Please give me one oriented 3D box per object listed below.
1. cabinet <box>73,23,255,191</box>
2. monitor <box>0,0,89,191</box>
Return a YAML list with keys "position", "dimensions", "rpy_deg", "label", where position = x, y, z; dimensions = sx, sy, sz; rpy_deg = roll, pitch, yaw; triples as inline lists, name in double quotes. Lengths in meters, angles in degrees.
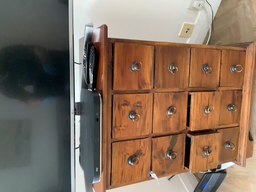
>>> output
- position: [0.190, 0.030, 1.150]
  dimensions: [0.500, 0.870, 0.620]
  rpy_deg: [-164, 75, -64]
  label: "cabinet"
- position: [-0.460, 0.060, 0.800]
  dimensions: [0.070, 0.610, 0.950]
  rpy_deg: [-173, 83, -65]
  label: "monitor"
